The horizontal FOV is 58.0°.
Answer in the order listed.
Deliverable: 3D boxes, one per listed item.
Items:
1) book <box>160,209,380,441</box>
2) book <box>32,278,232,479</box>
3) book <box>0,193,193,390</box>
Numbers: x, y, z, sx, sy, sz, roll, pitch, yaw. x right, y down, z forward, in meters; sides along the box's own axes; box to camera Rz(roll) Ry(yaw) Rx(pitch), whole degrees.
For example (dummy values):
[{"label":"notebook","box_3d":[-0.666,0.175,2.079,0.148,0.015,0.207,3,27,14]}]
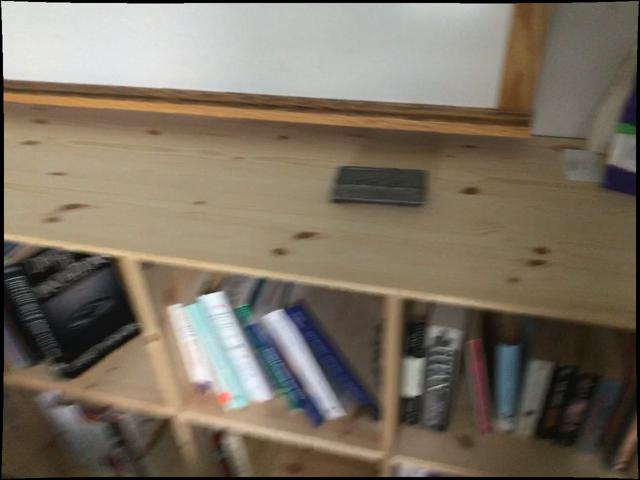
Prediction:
[{"label":"book","box_3d":[-0.060,0.130,0.960,0.269,0.220,0.260,8,41,13]},{"label":"book","box_3d":[-0.389,0.311,1.290,0.230,0.230,0.370,8,41,13]},{"label":"book","box_3d":[-0.409,0.080,1.110,0.160,0.140,0.370,8,41,13]}]
